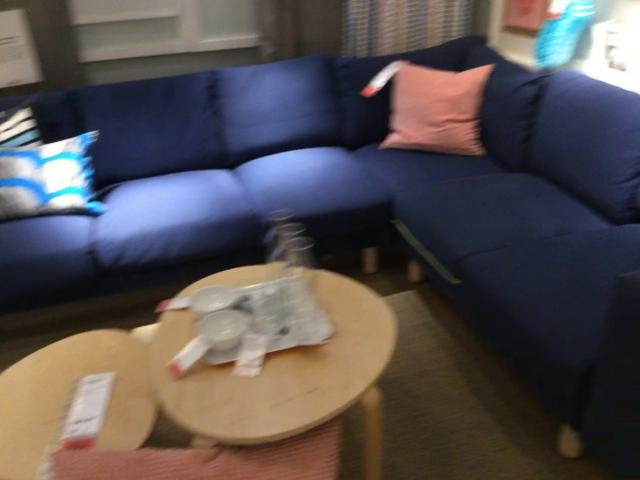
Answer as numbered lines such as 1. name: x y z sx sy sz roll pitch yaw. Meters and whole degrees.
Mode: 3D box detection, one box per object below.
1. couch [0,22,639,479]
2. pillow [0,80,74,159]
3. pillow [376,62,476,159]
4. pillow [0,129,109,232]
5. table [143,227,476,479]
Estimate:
1. couch: -0.130 -0.070 1.950 2.910 1.030 2.210 -8 25 -15
2. pillow: -1.320 -0.490 2.360 0.520 0.230 0.380 -8 25 -15
3. pillow: 0.490 -0.610 2.670 0.380 0.360 0.350 7 25 19
4. pillow: -1.180 -0.220 2.190 0.670 0.280 0.300 -8 25 -15
5. table: -0.090 0.390 1.610 0.690 0.530 0.740 -8 25 -15
